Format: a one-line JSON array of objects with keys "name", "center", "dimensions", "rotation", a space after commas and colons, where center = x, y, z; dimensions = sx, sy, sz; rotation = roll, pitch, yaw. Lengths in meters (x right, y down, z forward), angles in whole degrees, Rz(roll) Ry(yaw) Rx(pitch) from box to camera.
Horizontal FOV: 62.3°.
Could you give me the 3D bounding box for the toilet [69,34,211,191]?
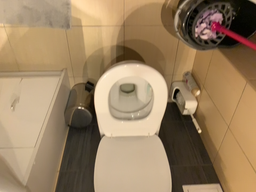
[{"name": "toilet", "center": [0.000, 0.100, 1.070], "dimensions": [0.390, 0.840, 0.520], "rotation": [-1, 127, -4]}]
